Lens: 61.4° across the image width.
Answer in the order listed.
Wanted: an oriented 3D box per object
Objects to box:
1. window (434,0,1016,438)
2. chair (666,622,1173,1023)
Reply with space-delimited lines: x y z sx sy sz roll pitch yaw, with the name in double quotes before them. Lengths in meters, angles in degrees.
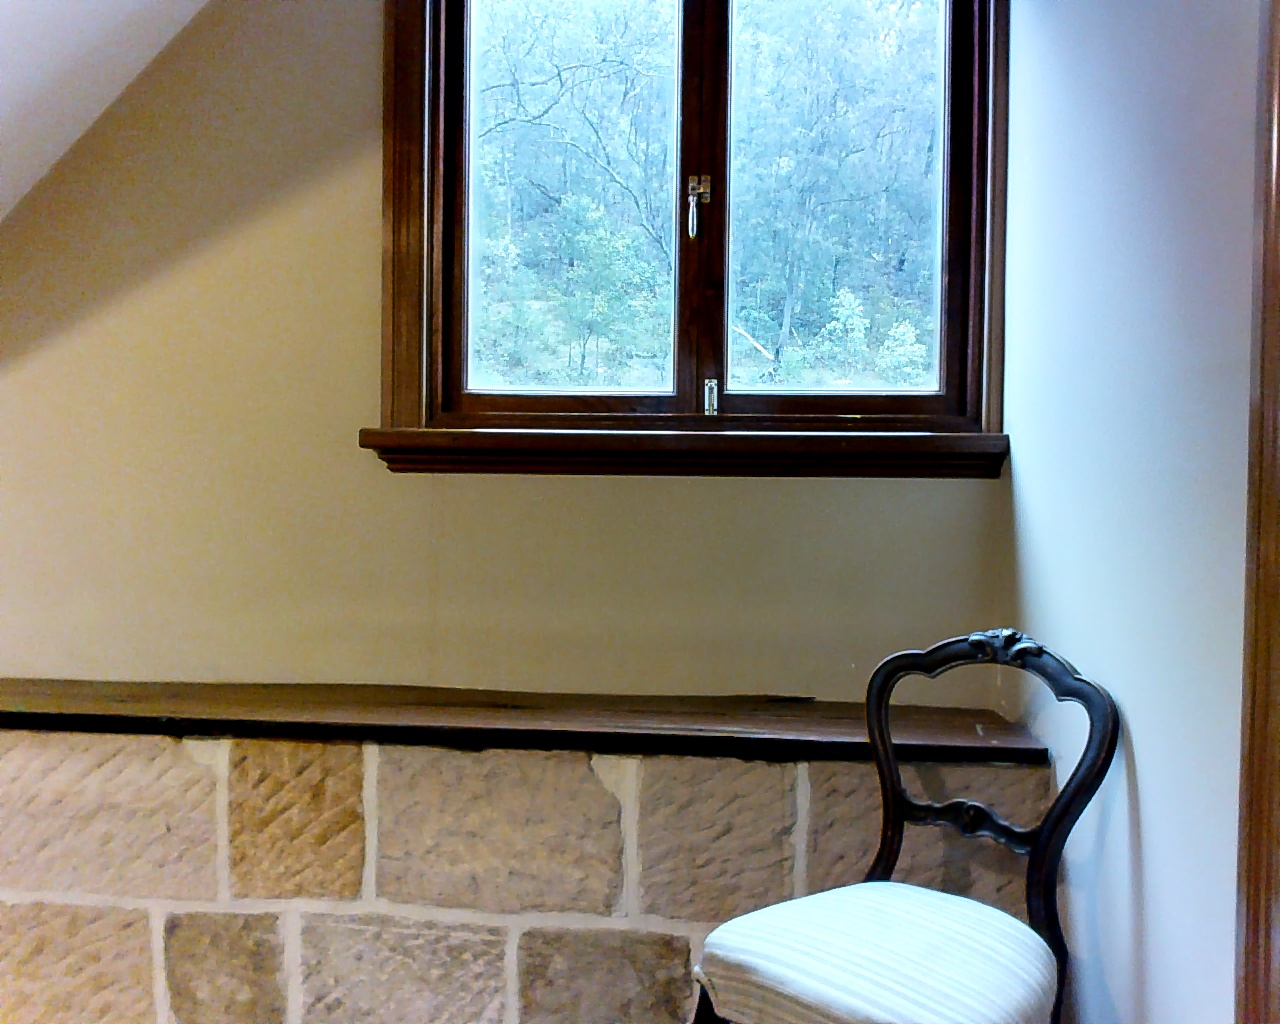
"window" 0.170 -0.740 2.280 1.189 1.141 0.070 1 1 3
"chair" 0.410 0.650 1.580 0.500 0.890 0.550 2 2 43
